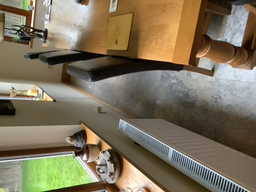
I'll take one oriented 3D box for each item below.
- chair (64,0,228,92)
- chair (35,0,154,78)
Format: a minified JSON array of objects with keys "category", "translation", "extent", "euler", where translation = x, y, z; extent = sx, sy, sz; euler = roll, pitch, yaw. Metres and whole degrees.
[{"category":"chair","translation":[0.150,-0.430,1.530],"extent":[0.480,1.010,0.670],"euler":[19,103,53]},{"category":"chair","translation":[-0.340,-0.610,2.210],"extent":[0.480,1.020,0.670],"euler":[28,110,52]}]
